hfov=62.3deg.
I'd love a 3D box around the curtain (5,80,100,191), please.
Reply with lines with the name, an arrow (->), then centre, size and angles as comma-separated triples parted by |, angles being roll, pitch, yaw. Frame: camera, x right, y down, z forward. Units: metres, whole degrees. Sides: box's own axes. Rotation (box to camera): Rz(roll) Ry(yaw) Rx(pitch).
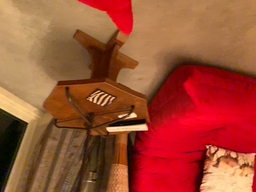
curtain -> -0.560, 0.900, 1.400 | 0.200, 2.090, 0.580 | -17, 141, 26
